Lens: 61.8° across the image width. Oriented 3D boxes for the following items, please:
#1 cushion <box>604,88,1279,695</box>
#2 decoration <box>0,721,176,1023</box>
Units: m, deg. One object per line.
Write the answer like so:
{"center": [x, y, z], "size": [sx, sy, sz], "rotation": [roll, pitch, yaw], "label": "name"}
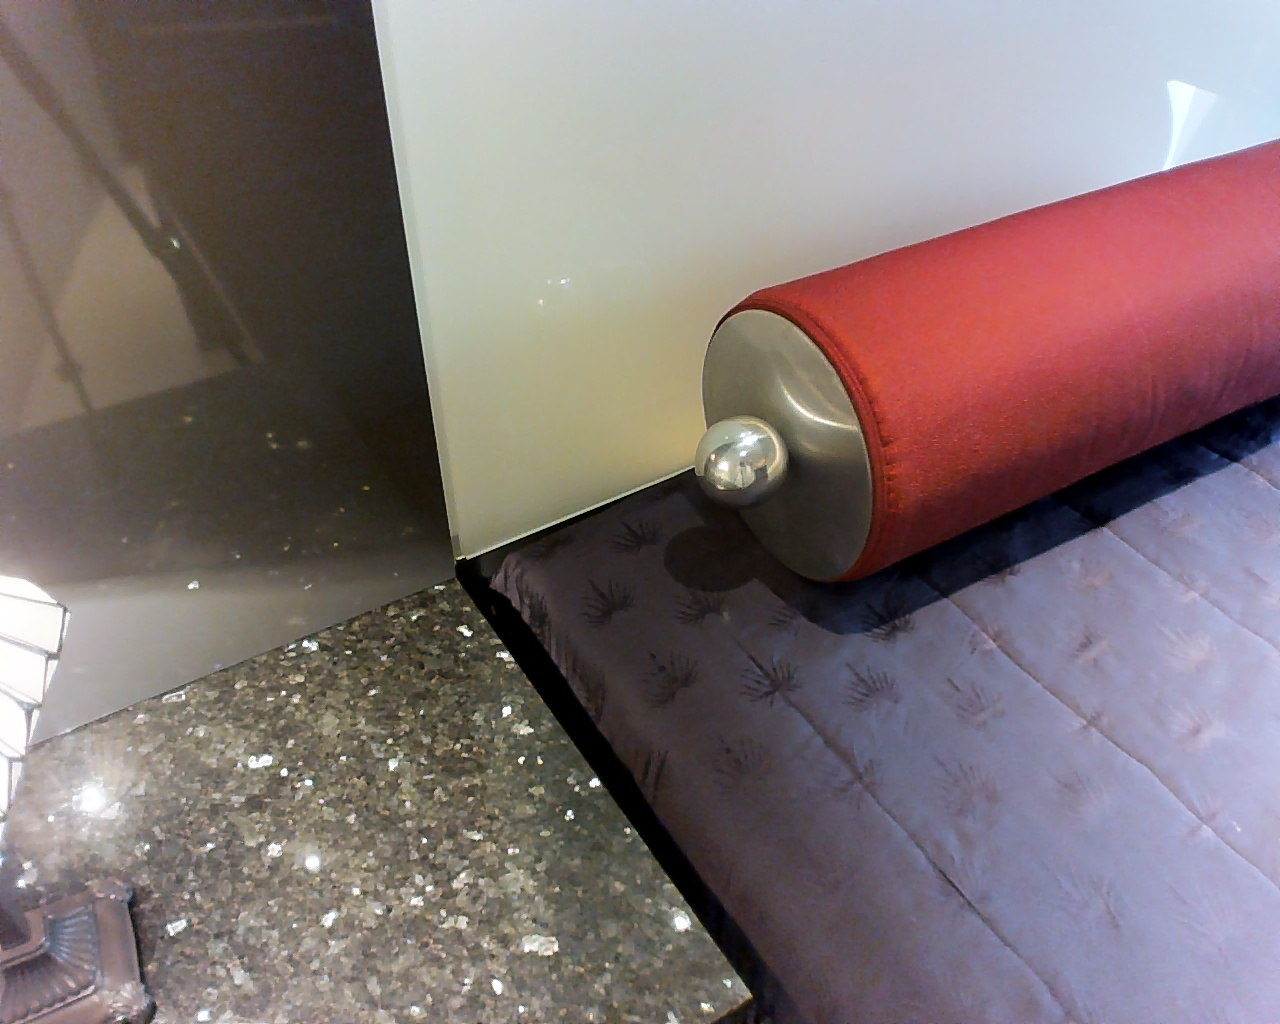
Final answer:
{"center": [0.620, -0.240, 1.330], "size": [1.300, 0.320, 0.350], "rotation": [-20, 45, -20], "label": "cushion"}
{"center": [-0.490, 0.320, 0.850], "size": [0.140, 0.180, 0.200], "rotation": [-22, 46, -23], "label": "decoration"}
